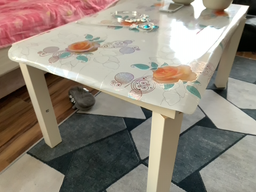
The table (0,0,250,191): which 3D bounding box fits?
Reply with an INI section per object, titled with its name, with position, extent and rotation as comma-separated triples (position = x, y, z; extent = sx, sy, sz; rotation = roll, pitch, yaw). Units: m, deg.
[table]
position = 0.100, -0.120, 0.970
extent = 0.580, 0.460, 0.970
rotation = 20, 40, 25
